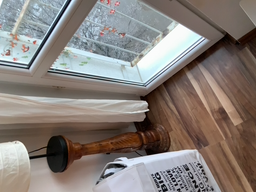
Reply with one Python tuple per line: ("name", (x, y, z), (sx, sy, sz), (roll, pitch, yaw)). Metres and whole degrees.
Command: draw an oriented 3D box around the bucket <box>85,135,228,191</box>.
("bucket", (0.200, 0.530, 1.200), (0.380, 0.690, 0.450), (-38, 62, 34))
